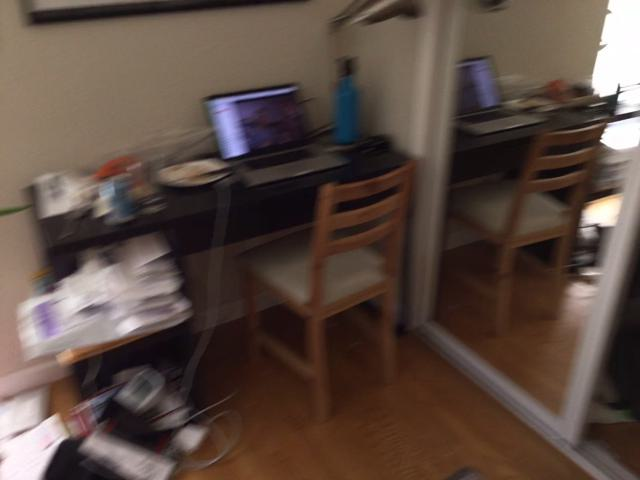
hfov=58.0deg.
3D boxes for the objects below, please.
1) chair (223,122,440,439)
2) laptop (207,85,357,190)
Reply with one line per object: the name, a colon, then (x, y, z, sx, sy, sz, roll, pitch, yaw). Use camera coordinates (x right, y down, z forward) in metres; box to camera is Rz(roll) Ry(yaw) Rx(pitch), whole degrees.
chair: (0.030, 0.100, 1.990, 0.420, 0.860, 0.560, -19, 30, -34)
laptop: (-0.140, -0.370, 2.000, 0.410, 0.260, 0.350, -9, 25, -22)
